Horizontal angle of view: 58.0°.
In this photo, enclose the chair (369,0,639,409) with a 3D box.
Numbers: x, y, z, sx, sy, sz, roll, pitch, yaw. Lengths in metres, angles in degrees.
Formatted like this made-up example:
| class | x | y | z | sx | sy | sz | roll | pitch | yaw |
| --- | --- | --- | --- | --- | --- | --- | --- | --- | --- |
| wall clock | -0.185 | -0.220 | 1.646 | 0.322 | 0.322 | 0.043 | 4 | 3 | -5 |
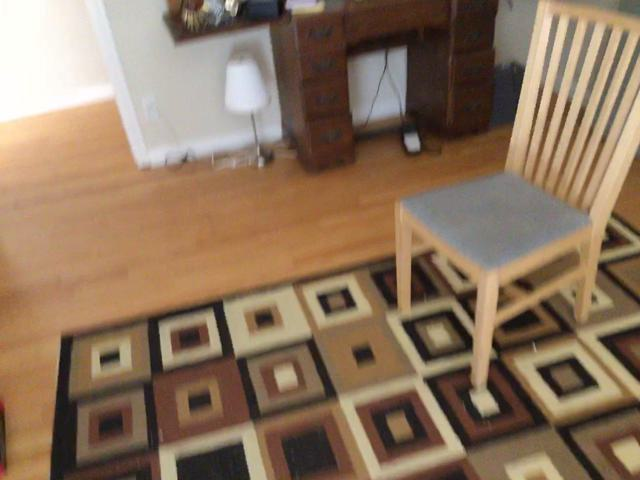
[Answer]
| class | x | y | z | sx | sy | sz | roll | pitch | yaw |
| --- | --- | --- | --- | --- | --- | --- | --- | --- | --- |
| chair | 0.560 | -0.130 | 1.640 | 0.630 | 0.940 | 0.500 | -19 | 37 | -17 |
